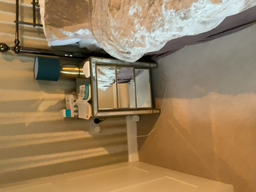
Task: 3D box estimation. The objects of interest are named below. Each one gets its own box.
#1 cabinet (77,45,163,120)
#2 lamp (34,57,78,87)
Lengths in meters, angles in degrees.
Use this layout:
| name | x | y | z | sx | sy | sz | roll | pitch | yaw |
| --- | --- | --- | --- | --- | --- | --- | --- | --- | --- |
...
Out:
| name | x | y | z | sx | sy | sz | roll | pitch | yaw |
| --- | --- | --- | --- | --- | --- | --- | --- | --- | --- |
| cabinet | -0.080 | -0.090 | 1.930 | 0.450 | 0.610 | 0.560 | -8 | 84 | 57 |
| lamp | -0.640 | -0.200 | 1.870 | 0.280 | 0.310 | 0.230 | 7 | 96 | 57 |
